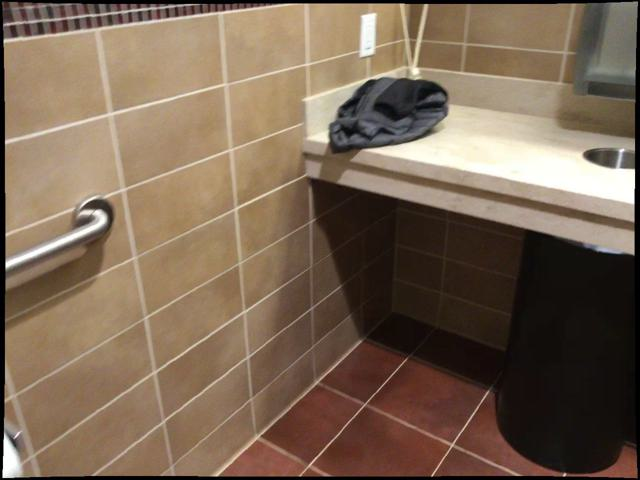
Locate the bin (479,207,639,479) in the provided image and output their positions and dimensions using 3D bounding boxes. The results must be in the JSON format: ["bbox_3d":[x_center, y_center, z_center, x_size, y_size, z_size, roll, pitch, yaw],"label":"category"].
[{"bbox_3d":[0.649,0.290,1.510,0.340,0.671,0.180,18,34,32],"label":"bin"}]

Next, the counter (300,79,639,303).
[{"bbox_3d":[0.899,-0.070,1.290,1.929,0.240,0.590,18,34,32],"label":"counter"}]

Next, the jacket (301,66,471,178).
[{"bbox_3d":[0.190,-0.340,1.580,0.270,0.160,0.430,18,34,32],"label":"jacket"}]
